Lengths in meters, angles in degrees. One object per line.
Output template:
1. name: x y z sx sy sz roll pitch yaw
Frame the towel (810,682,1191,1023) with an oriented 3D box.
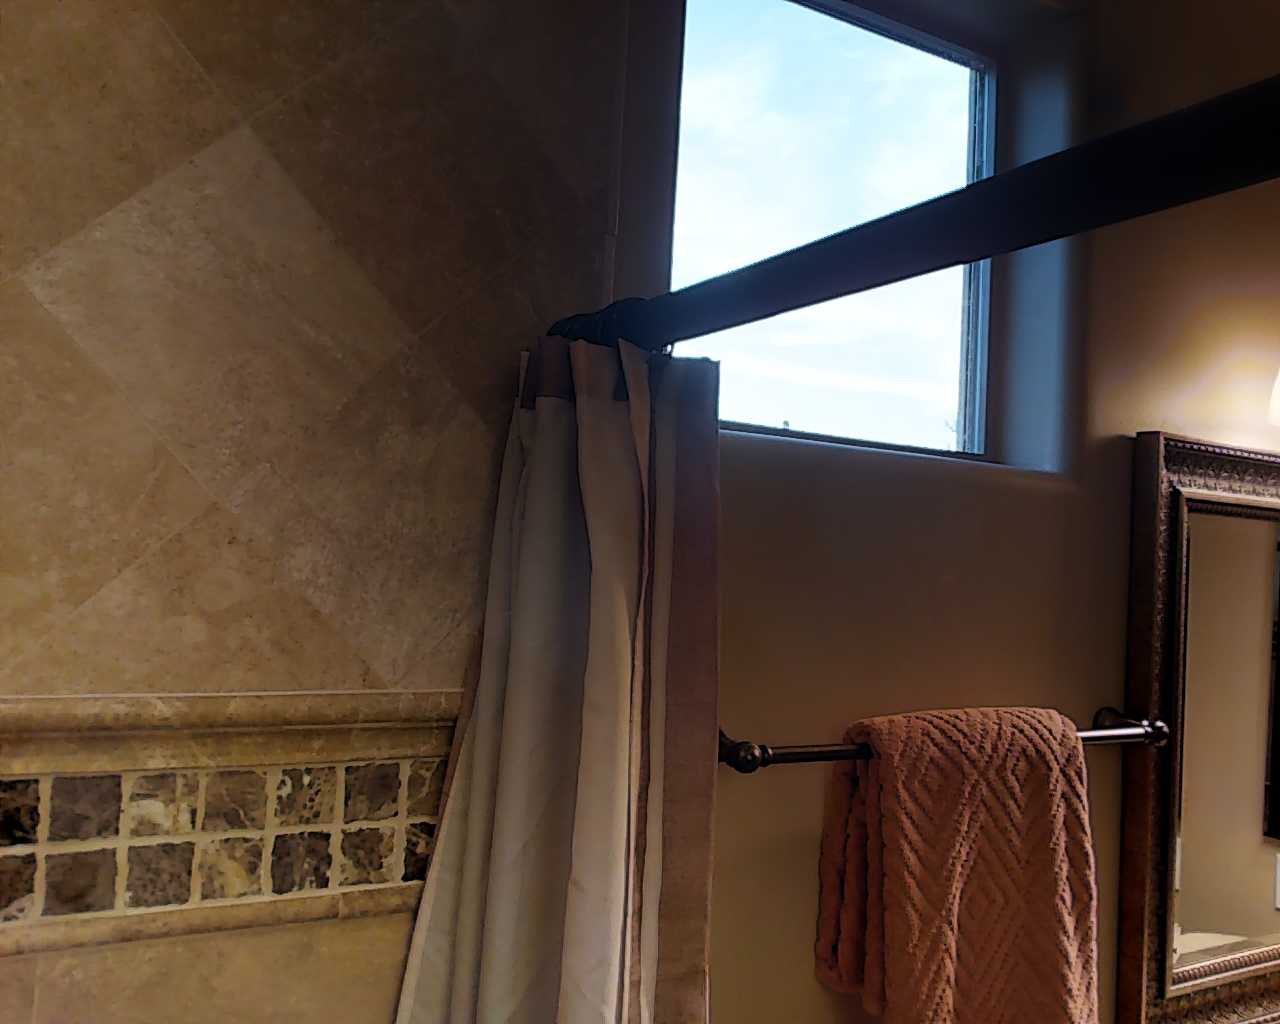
1. towel: 0.370 0.460 1.100 0.350 0.540 0.170 5 -2 -30

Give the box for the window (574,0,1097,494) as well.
1. window: 0.250 -0.350 1.300 0.570 0.610 0.250 5 -2 -30
